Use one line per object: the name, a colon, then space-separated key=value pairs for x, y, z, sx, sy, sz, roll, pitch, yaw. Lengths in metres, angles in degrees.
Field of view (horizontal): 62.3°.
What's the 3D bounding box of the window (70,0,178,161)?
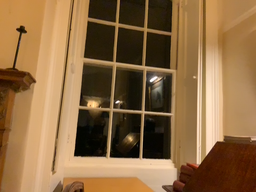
window: x=0.020 y=-0.330 z=2.110 sx=0.970 sy=1.860 sz=0.100 roll=6 pitch=-9 yaw=-14
